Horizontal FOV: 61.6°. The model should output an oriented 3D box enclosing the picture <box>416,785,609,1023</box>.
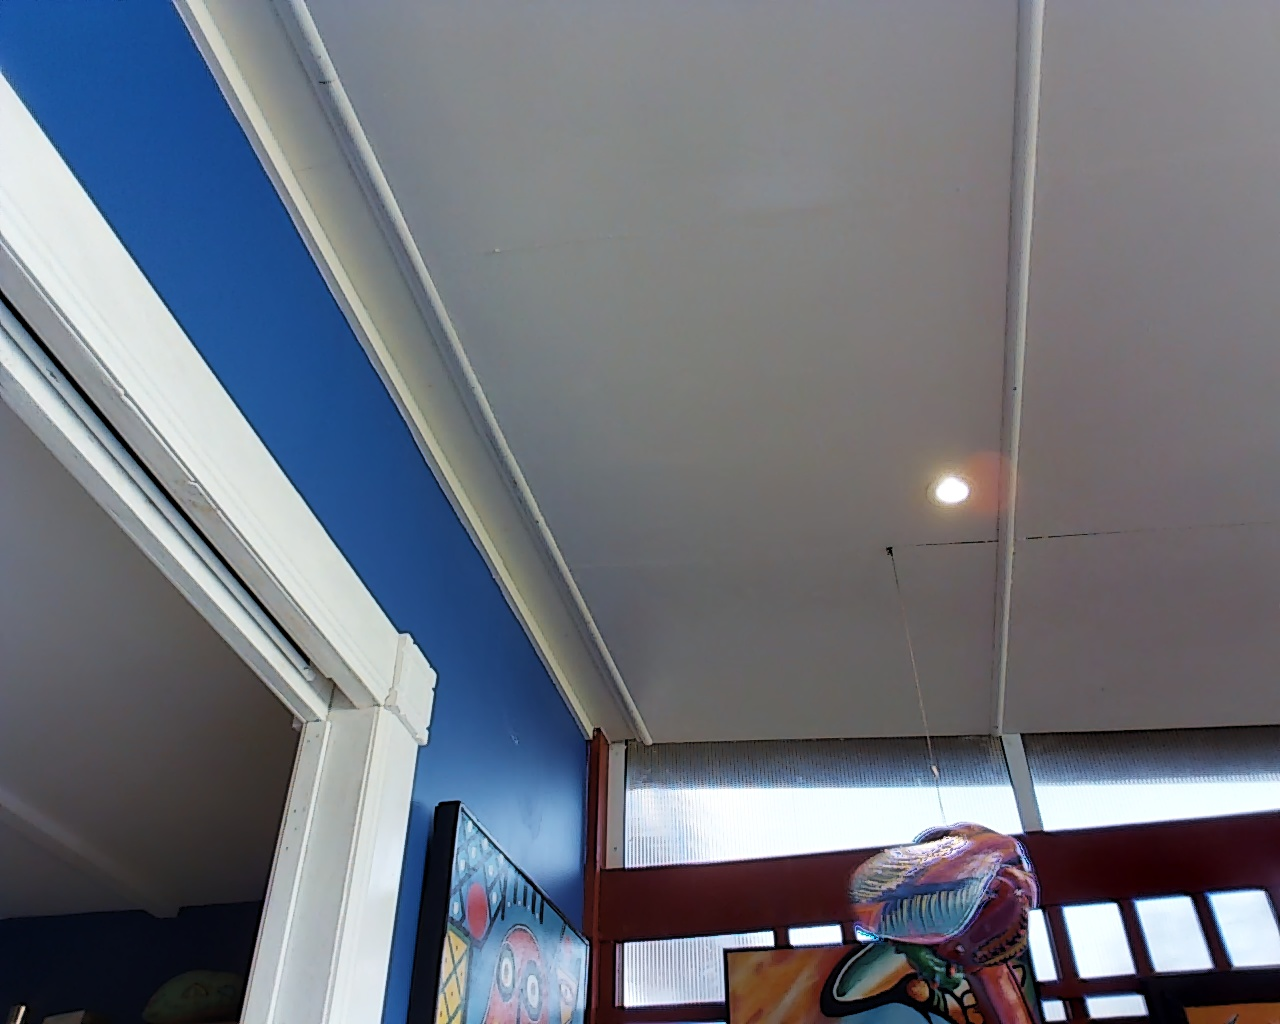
[{"bbox_3d":[-0.220,1.101,2.090,0.060,0.760,0.970,-8,-41,10],"label":"picture"}]
